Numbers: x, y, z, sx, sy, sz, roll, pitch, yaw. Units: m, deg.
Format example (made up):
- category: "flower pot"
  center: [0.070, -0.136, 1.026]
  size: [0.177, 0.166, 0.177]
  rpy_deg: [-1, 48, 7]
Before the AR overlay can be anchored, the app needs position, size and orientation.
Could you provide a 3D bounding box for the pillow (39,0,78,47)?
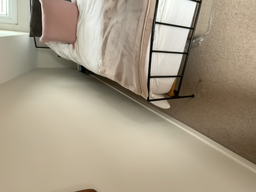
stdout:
- category: "pillow"
  center: [-0.770, -0.810, 2.360]
  size: [0.190, 0.390, 0.470]
  rpy_deg: [17, 112, 19]
